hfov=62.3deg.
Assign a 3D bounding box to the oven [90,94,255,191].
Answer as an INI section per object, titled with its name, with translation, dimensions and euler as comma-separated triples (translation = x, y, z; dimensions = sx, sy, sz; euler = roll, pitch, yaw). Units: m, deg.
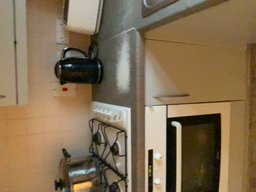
[oven]
translation = 0.290, 0.310, 1.410
dimensions = 0.590, 0.920, 0.600
euler = 7, 98, 61
